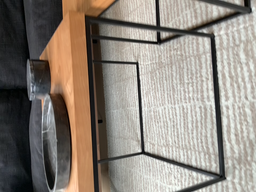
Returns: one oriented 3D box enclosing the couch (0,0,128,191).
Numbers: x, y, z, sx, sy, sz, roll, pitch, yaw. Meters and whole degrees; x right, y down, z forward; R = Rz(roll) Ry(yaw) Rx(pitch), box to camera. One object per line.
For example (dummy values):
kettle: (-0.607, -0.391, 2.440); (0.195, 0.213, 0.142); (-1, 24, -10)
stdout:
couch: (-0.590, -0.100, 1.390); (0.900, 0.750, 2.030); (-6, 87, 60)
